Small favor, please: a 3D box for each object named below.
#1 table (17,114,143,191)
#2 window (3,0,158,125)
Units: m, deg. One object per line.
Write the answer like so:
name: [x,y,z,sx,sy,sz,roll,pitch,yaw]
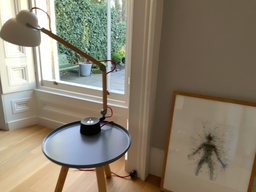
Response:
table: [-0.250,0.440,1.300,0.510,0.420,0.510,10,20,23]
window: [-0.440,-1.020,1.750,1.360,2.320,0.350,10,20,22]
